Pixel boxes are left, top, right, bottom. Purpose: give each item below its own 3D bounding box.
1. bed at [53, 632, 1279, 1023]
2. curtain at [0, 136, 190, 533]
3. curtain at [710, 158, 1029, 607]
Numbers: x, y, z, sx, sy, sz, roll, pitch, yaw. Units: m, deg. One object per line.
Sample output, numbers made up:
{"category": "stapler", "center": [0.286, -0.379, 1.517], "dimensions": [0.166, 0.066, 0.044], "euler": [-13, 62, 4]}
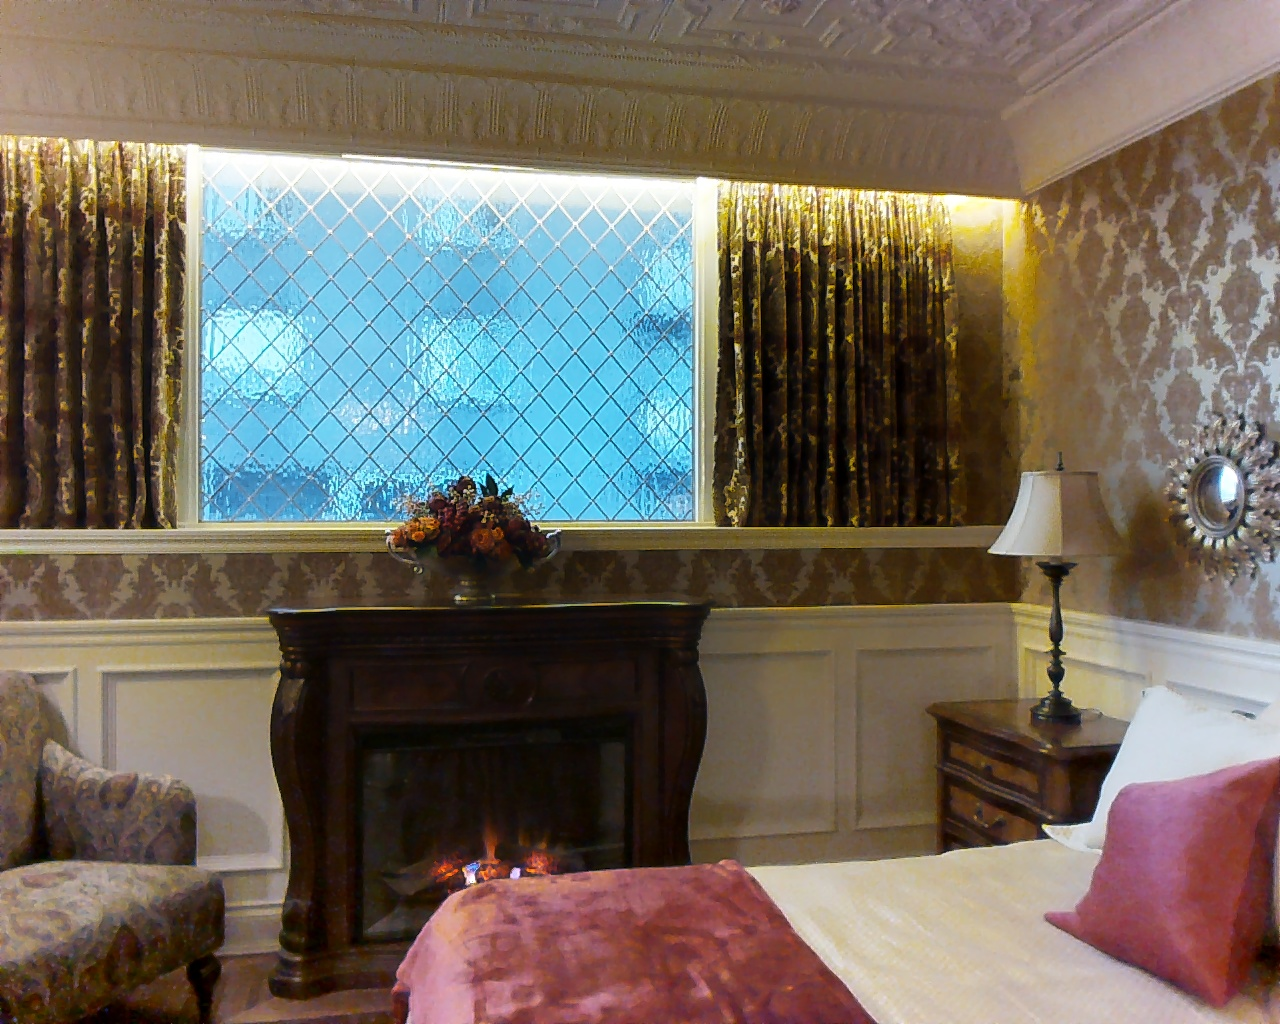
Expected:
{"category": "bed", "center": [0.620, 0.880, 1.870], "dimensions": [2.459, 1.080, 1.890], "euler": [0, 0, -12]}
{"category": "curtain", "center": [-1.880, -0.540, 3.360], "dimensions": [0.860, 1.210, 0.140], "euler": [0, 0, -14]}
{"category": "curtain", "center": [0.850, -0.450, 3.980], "dimensions": [1.150, 1.560, 0.250], "euler": [0, 0, -12]}
